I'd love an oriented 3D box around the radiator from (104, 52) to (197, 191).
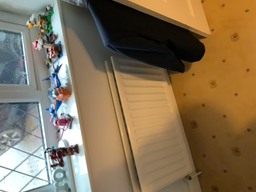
[{"bbox_3d":[0.170,0.160,1.440,0.060,0.550,0.910,-26,73,42],"label":"radiator"}]
